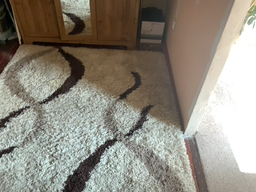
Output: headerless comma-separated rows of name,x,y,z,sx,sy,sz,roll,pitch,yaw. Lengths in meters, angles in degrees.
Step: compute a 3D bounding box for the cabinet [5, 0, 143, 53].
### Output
cabinet,-0.480,-1.420,1.960,1.300,1.890,0.630,2,44,-4
